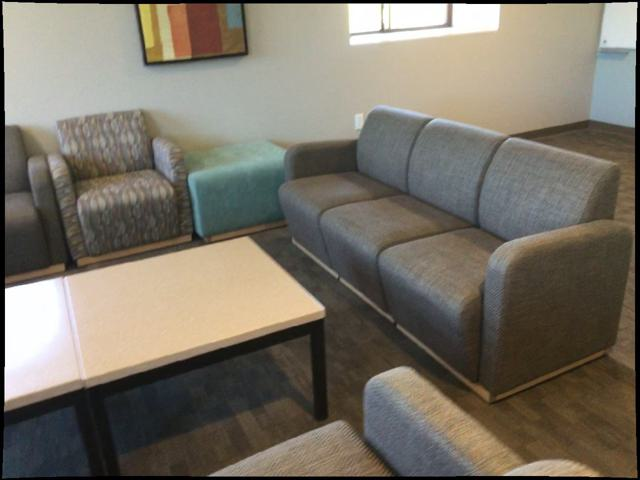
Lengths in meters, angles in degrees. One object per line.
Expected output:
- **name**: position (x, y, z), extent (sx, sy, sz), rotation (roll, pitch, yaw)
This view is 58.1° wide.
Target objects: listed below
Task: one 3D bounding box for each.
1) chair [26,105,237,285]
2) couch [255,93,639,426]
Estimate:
- **chair**: position (-1.197, -0.341, 3.680), extent (1.048, 0.762, 0.750), rotation (-16, 26, -22)
- **couch**: position (0.429, -0.130, 2.810), extent (0.779, 0.812, 1.910), rotation (-16, 26, -22)
